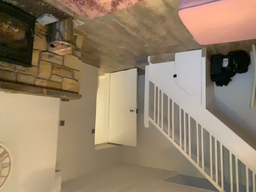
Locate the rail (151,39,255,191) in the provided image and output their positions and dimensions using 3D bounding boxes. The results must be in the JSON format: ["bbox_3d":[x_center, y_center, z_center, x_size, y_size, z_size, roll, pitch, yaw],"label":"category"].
[{"bbox_3d":[1.440,0.360,3.390,2.240,2.410,0.130,-1,174,31],"label":"rail"}]

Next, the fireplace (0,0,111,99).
[{"bbox_3d":[-1.190,-0.560,2.060,0.830,0.980,2.230,-1,174,32],"label":"fireplace"}]
